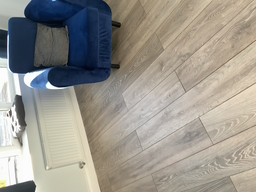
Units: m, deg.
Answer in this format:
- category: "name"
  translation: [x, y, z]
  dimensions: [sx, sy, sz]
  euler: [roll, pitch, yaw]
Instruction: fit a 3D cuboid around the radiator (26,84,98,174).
- category: "radiator"
  translation: [-0.770, 0.310, 2.460]
  dimensions: [0.060, 0.600, 1.030]
  euler: [-46, 57, 41]
